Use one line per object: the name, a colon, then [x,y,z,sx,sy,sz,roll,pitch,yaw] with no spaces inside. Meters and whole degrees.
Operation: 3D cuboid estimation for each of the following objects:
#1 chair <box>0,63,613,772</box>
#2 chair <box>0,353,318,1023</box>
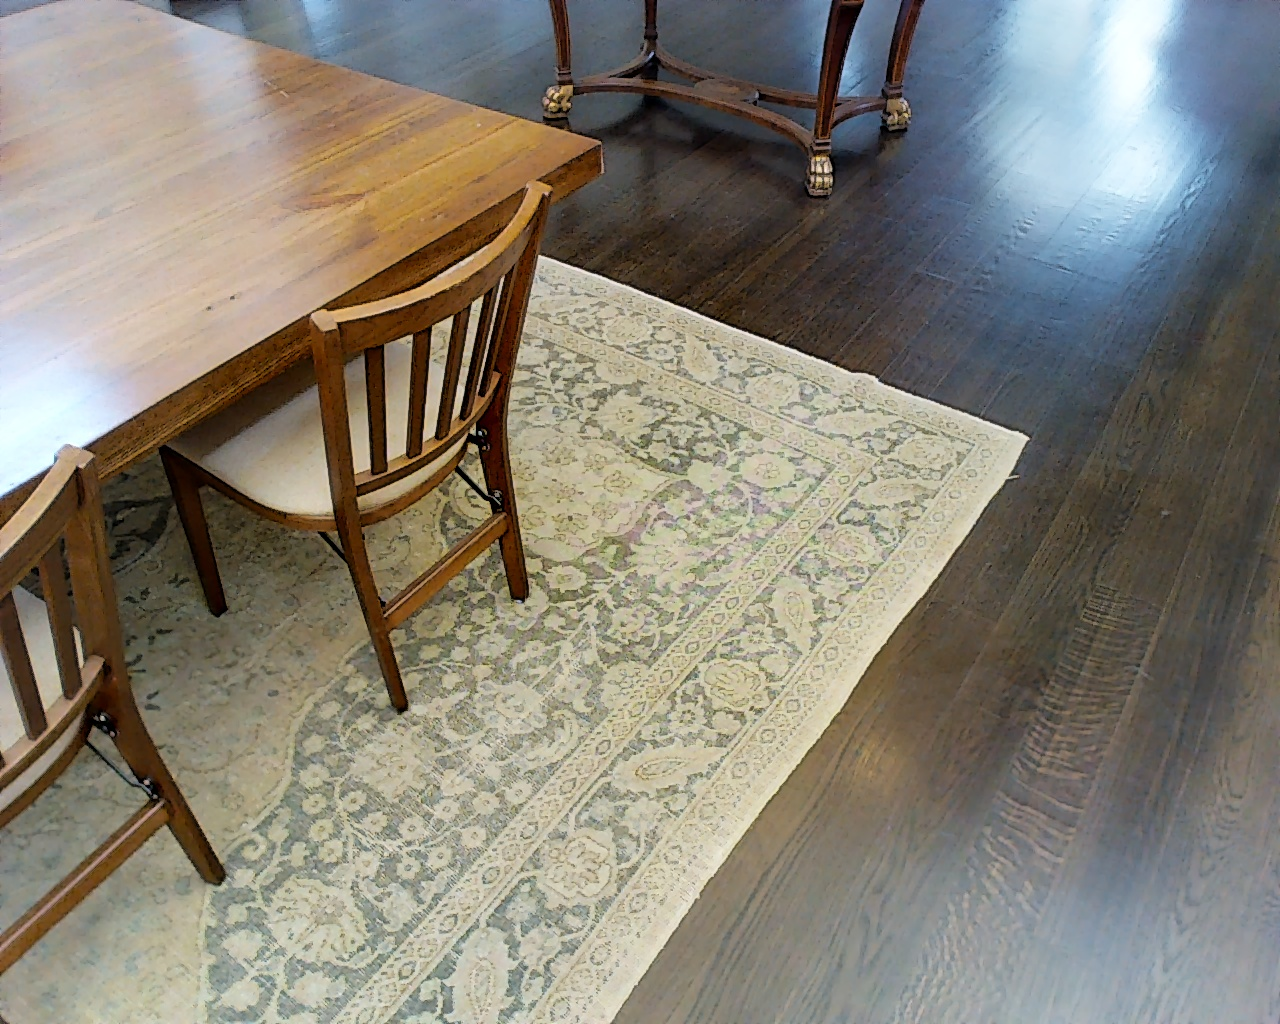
chair: [-0.460,-0.150,1.730,0.680,0.840,0.470,25,48,24]
chair: [-0.870,0.250,1.300,0.610,0.830,0.490,24,48,23]
